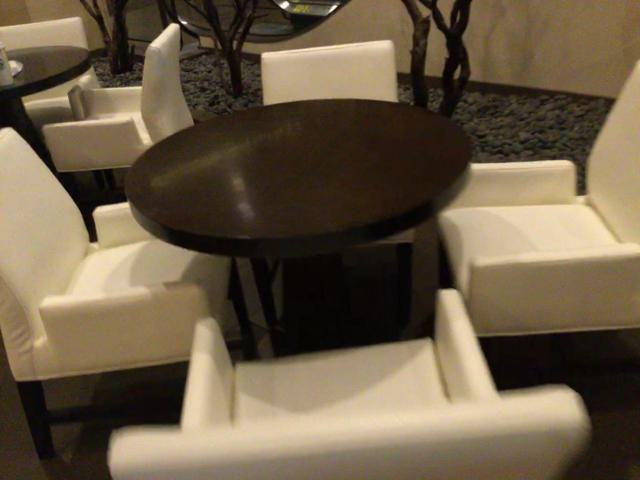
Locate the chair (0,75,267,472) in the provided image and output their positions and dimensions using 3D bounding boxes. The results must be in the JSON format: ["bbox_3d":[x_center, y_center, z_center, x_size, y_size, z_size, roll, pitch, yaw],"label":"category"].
[{"bbox_3d":[-0.610,0.070,1.760,0.680,0.870,0.720,-9,28,4],"label":"chair"}]

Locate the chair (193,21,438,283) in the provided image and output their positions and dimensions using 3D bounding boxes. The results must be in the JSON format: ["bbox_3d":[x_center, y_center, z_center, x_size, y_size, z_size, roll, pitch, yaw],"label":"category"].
[{"bbox_3d":[0.010,-0.340,2.060,0.650,0.640,0.670,-9,28,4],"label":"chair"}]

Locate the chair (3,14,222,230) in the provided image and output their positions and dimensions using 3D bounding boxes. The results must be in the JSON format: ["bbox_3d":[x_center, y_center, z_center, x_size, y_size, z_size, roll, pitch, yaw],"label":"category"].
[{"bbox_3d":[-0.920,-0.590,2.820,0.700,0.870,0.650,-1,28,0],"label":"chair"}]

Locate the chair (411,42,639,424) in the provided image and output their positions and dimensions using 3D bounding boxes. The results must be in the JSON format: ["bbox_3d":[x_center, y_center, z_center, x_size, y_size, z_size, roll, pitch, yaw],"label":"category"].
[{"bbox_3d":[0.690,-0.040,1.640,0.700,0.800,0.610,-9,28,4],"label":"chair"}]

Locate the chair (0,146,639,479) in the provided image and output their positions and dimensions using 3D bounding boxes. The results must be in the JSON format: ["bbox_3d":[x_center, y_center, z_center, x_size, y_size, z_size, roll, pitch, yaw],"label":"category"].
[{"bbox_3d":[0.050,0.360,1.080,0.660,0.770,0.720,-9,28,4],"label":"chair"}]
